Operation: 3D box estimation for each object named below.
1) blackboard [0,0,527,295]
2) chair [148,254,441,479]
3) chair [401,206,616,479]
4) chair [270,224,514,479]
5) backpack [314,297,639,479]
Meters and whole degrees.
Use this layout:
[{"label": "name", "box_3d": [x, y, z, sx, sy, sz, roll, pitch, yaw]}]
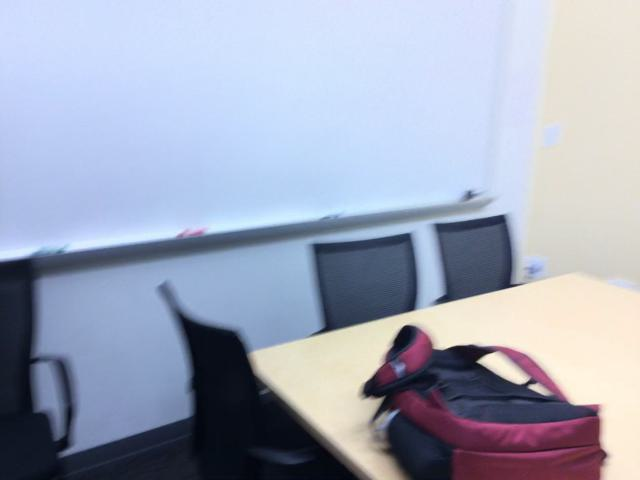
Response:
[{"label": "blackboard", "box_3d": [-0.350, -0.460, 2.230, 3.110, 1.050, 0.220, -8, 15, -32]}, {"label": "chair", "box_3d": [-0.100, 0.560, 1.600, 0.510, 0.870, 0.640, -8, 15, -31]}, {"label": "chair", "box_3d": [0.730, 0.380, 2.340, 0.550, 0.920, 0.540, -8, 15, -32]}, {"label": "chair", "box_3d": [0.230, 0.460, 2.040, 0.620, 0.900, 0.530, -8, 15, -32]}, {"label": "backpack", "box_3d": [0.320, 0.330, 1.220, 0.480, 0.220, 0.490, -8, 15, -31]}]
